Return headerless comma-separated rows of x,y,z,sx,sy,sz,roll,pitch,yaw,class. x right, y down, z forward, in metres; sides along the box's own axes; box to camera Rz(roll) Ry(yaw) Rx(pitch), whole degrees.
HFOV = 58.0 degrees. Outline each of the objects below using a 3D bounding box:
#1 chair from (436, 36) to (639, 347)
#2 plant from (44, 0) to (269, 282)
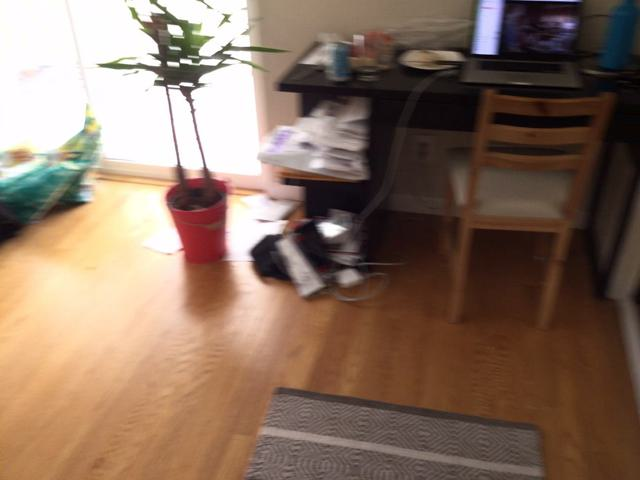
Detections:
0.650,-0.170,1.940,0.420,0.860,0.560,3,33,7,chair
-0.540,-0.470,2.160,0.530,1.180,0.460,3,33,7,plant
